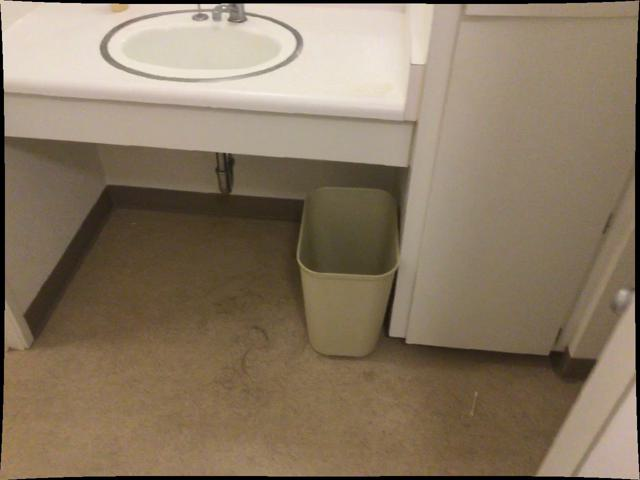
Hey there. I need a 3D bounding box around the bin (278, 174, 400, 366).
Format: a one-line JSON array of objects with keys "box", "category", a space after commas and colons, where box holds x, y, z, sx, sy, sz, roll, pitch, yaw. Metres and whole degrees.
[{"box": [0.060, 0.090, 1.710, 0.300, 0.420, 0.350, 5, 44, 4], "category": "bin"}]
